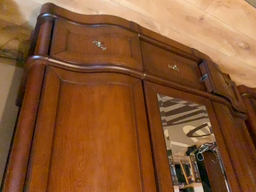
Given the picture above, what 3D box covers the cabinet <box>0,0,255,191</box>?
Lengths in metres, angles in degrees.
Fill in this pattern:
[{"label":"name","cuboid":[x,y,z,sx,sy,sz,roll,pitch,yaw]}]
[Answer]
[{"label":"cabinet","cuboid":[0.180,0.630,1.060,1.640,2.080,0.690,14,143,-28]}]
